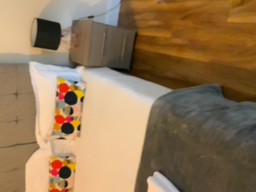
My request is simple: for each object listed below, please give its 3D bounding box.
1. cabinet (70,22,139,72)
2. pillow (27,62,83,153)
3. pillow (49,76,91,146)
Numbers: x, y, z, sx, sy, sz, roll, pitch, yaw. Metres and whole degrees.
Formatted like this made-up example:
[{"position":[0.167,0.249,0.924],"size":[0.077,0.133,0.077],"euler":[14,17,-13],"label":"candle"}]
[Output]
[{"position":[-0.250,-0.500,2.190],"size":[0.430,0.510,0.400],"euler":[25,109,49],"label":"cabinet"},{"position":[-0.690,0.080,2.050],"size":[0.110,0.550,0.770],"euler":[16,107,20],"label":"pillow"},{"position":[-0.560,0.130,2.060],"size":[0.190,0.300,0.600],"euler":[16,107,21],"label":"pillow"}]
